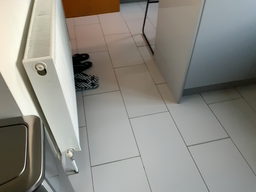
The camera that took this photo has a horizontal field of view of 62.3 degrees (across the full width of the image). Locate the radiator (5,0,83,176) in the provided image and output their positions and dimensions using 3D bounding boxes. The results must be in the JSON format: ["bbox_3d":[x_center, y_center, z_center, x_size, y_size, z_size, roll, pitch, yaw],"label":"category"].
[{"bbox_3d":[-0.450,-0.220,1.340,0.130,0.760,1.150,-9,45,-9],"label":"radiator"}]

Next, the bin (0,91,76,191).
[{"bbox_3d":[-0.430,0.370,0.790,0.350,0.680,0.350,-8,45,-8],"label":"bin"}]
